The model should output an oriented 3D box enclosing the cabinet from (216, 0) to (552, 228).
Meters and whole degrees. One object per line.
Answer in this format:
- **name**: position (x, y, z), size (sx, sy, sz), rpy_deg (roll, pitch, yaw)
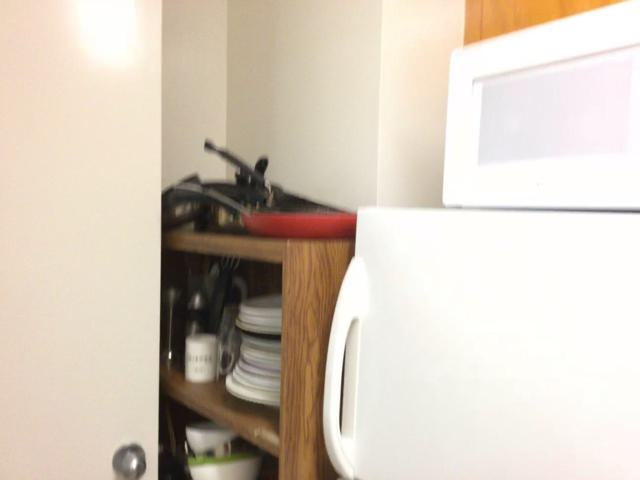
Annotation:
- **cabinet**: position (0.160, -0.490, 1.680), size (0.640, 0.900, 0.730), rpy_deg (-1, 2, -38)
